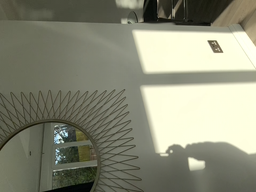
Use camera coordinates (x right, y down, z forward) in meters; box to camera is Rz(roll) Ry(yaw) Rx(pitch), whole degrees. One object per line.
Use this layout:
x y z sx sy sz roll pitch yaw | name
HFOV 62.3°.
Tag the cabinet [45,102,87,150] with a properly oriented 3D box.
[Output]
-1.370 0.760 4.940 1.600 0.800 0.350 105 159 -53 | cabinet
